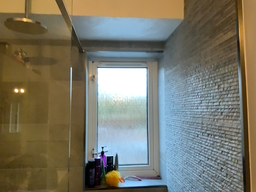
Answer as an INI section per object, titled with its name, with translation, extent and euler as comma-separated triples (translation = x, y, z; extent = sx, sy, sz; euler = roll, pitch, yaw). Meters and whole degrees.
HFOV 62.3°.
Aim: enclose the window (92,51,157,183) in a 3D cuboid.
[window]
translation = -0.030, 0.160, 1.760
extent = 0.520, 1.070, 0.050
euler = 0, -4, -2
